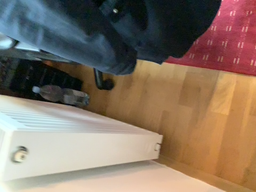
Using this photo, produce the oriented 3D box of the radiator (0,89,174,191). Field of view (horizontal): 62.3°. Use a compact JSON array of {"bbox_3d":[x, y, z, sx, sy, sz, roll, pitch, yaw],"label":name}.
[{"bbox_3d":[-0.330,0.110,0.820,0.780,0.670,0.140,13,89,37],"label":"radiator"}]
